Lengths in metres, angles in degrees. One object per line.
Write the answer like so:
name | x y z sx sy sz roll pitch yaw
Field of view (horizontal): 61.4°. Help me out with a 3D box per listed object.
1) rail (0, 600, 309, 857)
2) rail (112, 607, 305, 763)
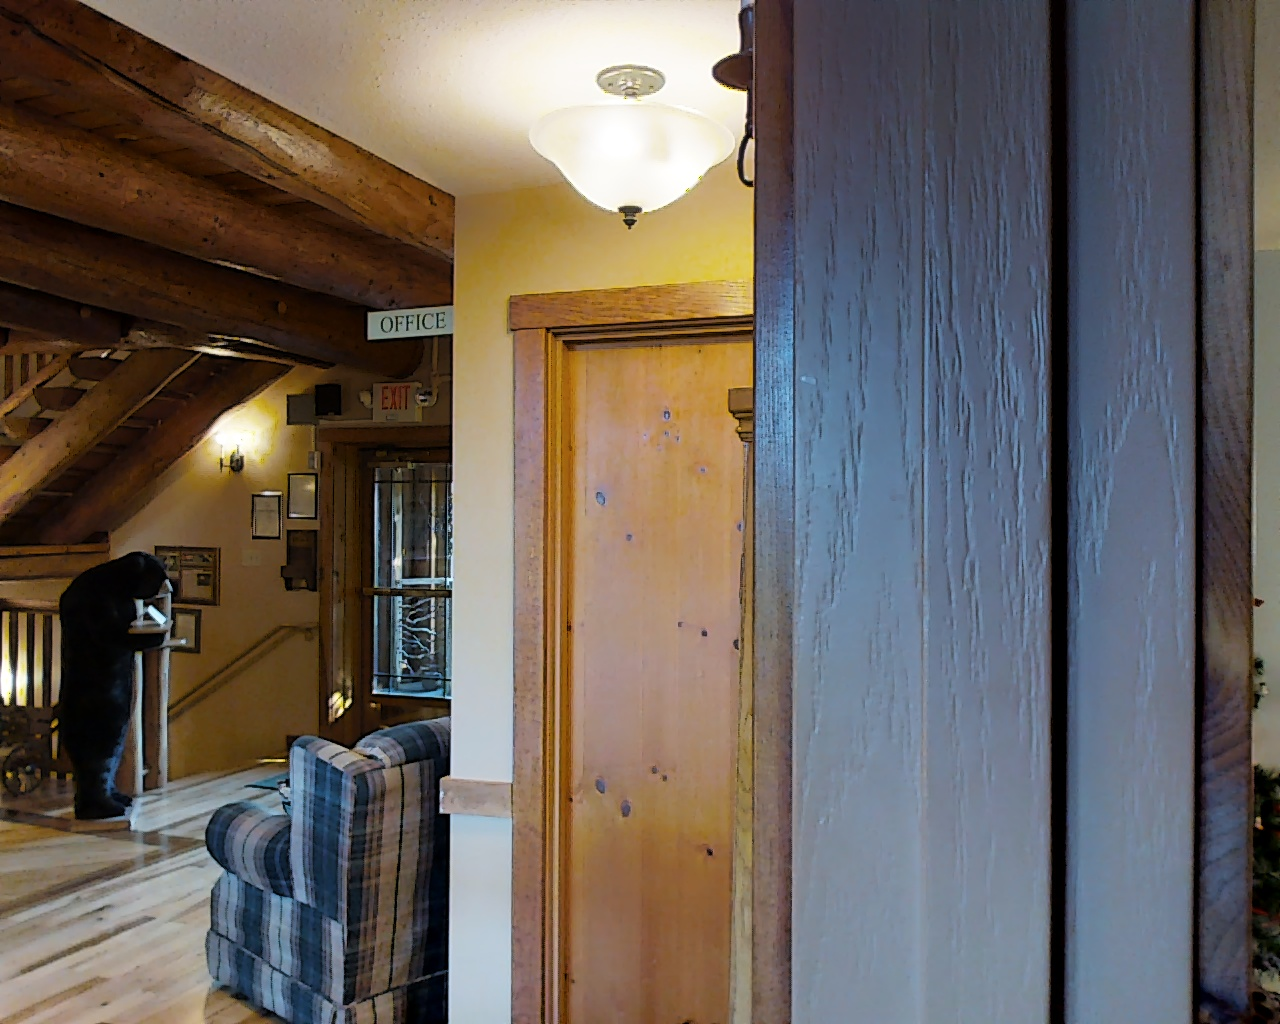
rail | -3.659 1.510 7.850 2.949 1.630 0.080 0 0 21
rail | -3.079 1.200 7.630 1.620 0.990 0.110 0 0 21
